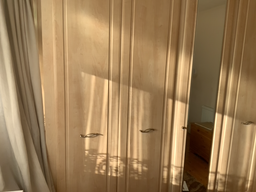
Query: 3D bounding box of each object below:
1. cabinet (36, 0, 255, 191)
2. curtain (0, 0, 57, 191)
[{"bbox_3d":[0.630,-0.050,2.160,2.810,2.500,0.480,-2,11,-20],"label":"cabinet"},{"bbox_3d":[-0.780,-0.090,1.300,0.200,1.840,0.610,9,13,33],"label":"curtain"}]
